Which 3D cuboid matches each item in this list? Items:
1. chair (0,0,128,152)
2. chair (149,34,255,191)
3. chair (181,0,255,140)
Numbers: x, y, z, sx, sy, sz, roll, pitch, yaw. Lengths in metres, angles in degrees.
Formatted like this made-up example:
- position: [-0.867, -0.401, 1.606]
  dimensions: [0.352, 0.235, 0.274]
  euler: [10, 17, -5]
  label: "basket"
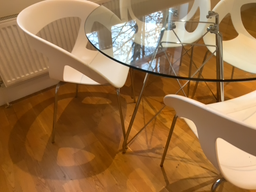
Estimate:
- position: [-0.280, -0.130, 1.290]
  dimensions: [0.530, 0.780, 0.550]
  euler: [-1, 40, 2]
  label: "chair"
- position: [0.460, 0.220, 0.860]
  dimensions: [0.590, 0.740, 0.520]
  euler: [-10, 40, -9]
  label: "chair"
- position: [0.810, -0.260, 1.430]
  dimensions: [0.520, 0.750, 0.610]
  euler: [-24, 44, -24]
  label: "chair"
